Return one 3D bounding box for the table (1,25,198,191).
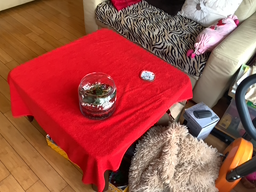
[{"bbox_3d":[-0.170,0.030,1.450,0.860,0.450,0.820,36,53,23],"label":"table"}]
